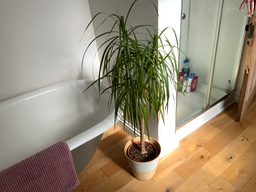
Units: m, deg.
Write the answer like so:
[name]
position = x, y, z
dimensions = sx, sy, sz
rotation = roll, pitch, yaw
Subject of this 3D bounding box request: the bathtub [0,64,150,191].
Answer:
[bathtub]
position = -0.740, 0.440, 1.250
dimensions = 1.650, 0.580, 0.770
rotation = -26, 37, -30
